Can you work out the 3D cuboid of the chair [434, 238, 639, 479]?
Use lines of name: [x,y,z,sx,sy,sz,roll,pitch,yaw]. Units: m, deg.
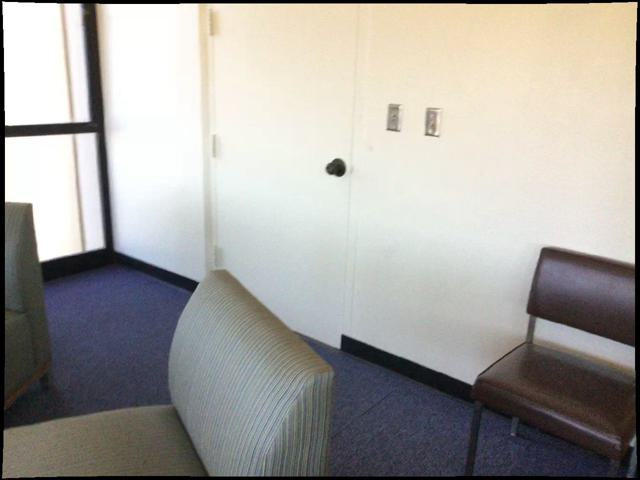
chair: [0.818,0.481,2.010,0.569,0.772,0.600,13,19,31]
